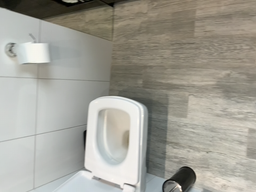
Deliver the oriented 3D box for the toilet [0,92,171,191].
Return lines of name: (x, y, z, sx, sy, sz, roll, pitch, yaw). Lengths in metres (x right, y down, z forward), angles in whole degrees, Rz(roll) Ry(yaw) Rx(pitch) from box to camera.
toilet: (-0.120, 0.260, 1.090, 0.370, 0.850, 0.530, 3, 94, 33)
